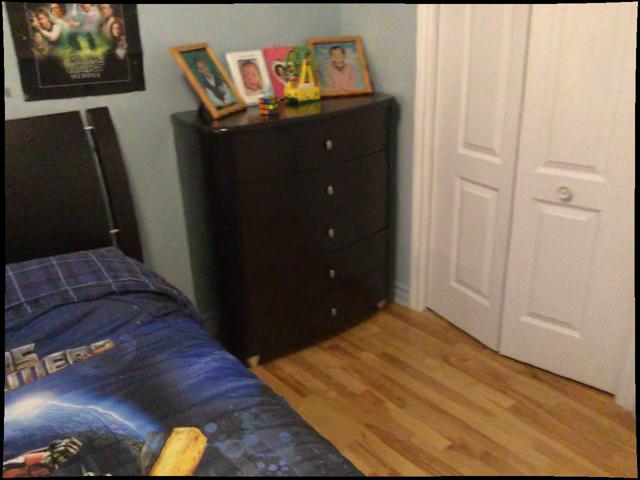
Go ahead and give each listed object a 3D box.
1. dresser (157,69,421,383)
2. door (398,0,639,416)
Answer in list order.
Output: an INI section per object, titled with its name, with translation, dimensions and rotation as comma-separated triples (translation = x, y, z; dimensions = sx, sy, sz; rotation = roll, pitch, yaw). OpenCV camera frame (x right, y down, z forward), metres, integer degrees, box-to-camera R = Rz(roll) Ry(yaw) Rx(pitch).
[dresser]
translation = -0.080, -0.120, 2.430
dimensions = 0.910, 1.021, 0.480
rotation = -20, 29, -34
[door]
translation = 0.719, -0.561, 1.940
dimensions = 0.160, 2.132, 1.070
rotation = -20, 29, -34
